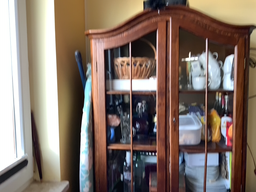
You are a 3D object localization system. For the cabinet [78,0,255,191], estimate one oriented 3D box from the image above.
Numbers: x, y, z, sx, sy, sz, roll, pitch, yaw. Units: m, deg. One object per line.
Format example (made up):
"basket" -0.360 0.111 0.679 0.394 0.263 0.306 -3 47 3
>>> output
"cabinet" 0.210 0.040 1.290 0.870 1.110 0.460 0 5 8
